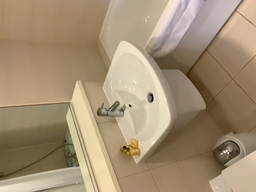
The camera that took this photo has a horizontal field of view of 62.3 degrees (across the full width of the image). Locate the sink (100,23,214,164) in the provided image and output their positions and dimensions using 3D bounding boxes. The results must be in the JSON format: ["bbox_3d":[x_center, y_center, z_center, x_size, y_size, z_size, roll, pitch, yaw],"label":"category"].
[{"bbox_3d":[0.090,-0.020,1.180,0.590,0.190,0.470,63,141,32],"label":"sink"}]
